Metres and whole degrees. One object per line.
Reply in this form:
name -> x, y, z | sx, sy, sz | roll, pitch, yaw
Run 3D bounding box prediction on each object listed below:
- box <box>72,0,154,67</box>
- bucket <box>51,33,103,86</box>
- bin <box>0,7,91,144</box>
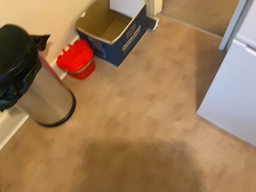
box -> -0.090, -0.570, 1.660 | 0.380, 0.270, 0.510 | 28, 71, 18
bucket -> -0.370, -0.270, 1.590 | 0.210, 0.220, 0.260 | 27, 71, 17
bin -> -0.560, -0.060, 1.260 | 0.310, 0.680, 0.450 | 29, 72, 18
